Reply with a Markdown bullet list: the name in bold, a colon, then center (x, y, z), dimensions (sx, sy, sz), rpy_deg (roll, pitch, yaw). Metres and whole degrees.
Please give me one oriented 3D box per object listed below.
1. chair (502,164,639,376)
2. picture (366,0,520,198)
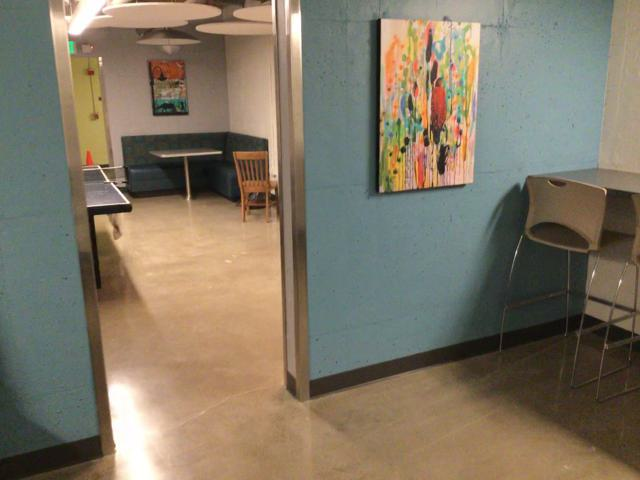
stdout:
- **chair**: center (1.410, 0.120, 3.110), dimensions (0.570, 0.980, 0.500), rpy_deg (-6, 15, -25)
- **picture**: center (0.600, -0.670, 2.800), dimensions (0.810, 0.880, 0.060), rpy_deg (-6, 15, -24)
